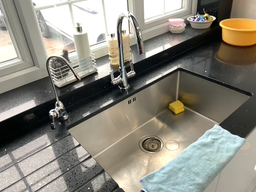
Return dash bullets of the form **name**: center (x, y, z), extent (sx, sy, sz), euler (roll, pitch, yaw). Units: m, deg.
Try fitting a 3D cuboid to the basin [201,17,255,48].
- **basin**: center (0.730, -0.450, 1.460), extent (0.270, 0.090, 0.320), euler (-28, 40, -31)
